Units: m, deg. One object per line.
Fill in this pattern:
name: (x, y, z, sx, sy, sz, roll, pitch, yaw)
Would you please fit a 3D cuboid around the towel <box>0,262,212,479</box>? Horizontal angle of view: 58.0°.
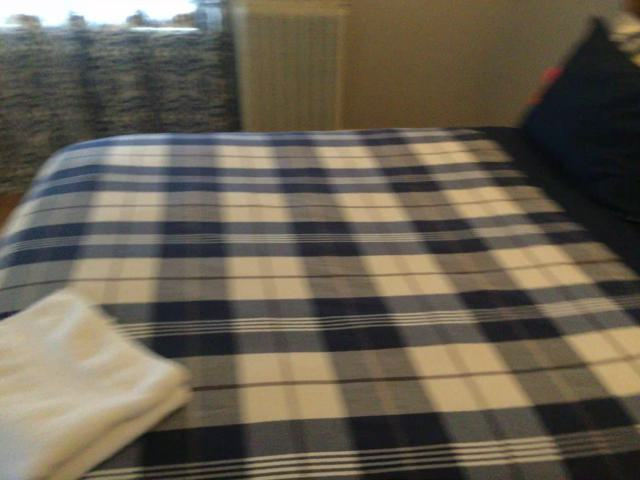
towel: (-0.430, 0.210, 0.960, 0.390, 0.100, 0.300, 22, 35, 28)
